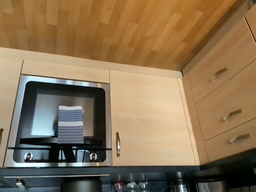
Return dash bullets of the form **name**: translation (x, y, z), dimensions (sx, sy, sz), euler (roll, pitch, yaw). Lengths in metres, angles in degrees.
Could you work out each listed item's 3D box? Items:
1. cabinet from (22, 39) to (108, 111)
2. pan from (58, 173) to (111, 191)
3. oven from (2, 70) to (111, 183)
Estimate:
- **cabinet**: translation (-0.520, -0.130, 1.780), dimensions (0.580, 0.260, 0.590), euler (5, 152, -18)
- **pan**: translation (-0.290, 0.610, 1.370), dimensions (0.290, 0.160, 0.320), euler (6, 152, -19)
- **oven**: translation (-0.490, 0.270, 1.580), dimensions (0.580, 0.630, 0.590), euler (5, 152, -18)
